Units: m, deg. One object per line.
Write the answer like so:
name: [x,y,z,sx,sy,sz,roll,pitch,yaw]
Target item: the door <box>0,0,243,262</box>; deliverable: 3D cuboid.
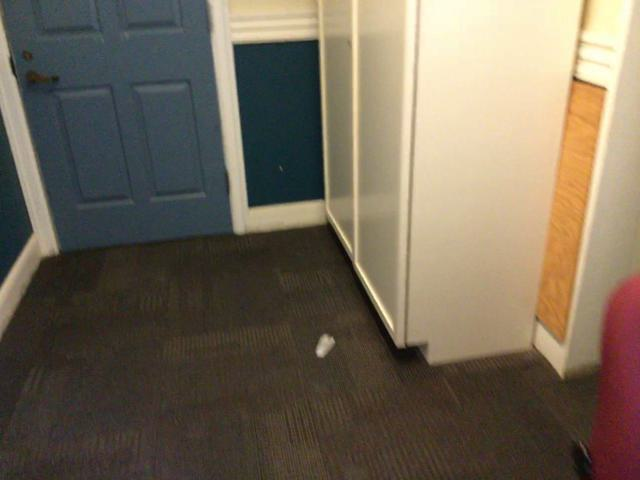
door: [-0.950,-0.820,2.690,1.000,1.840,0.190,-7,26,-10]
